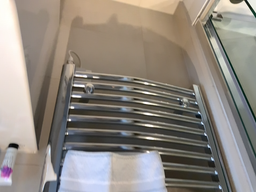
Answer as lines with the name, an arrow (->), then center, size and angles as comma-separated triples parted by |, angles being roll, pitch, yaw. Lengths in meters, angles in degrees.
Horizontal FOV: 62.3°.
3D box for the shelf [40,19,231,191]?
shelf -> 0.020, 0.090, 0.640 | 0.460, 0.820, 0.090 | 6, 143, -12
